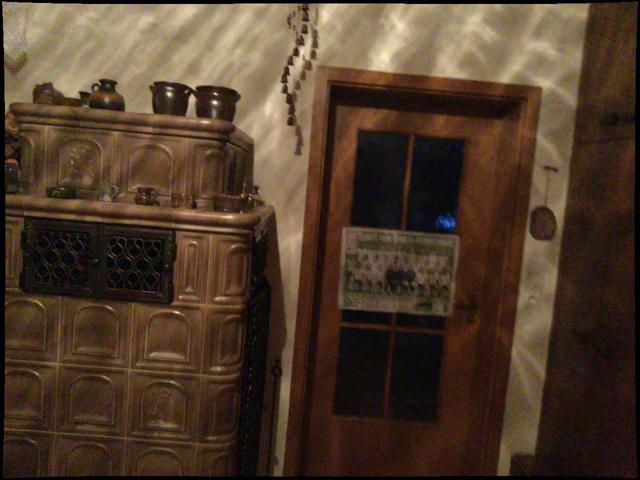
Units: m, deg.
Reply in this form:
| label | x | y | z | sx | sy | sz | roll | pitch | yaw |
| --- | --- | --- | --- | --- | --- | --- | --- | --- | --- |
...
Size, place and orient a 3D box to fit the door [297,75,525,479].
| label | x | y | z | sx | sy | sz | roll | pitch | yaw |
| --- | --- | --- | --- | --- | --- | --- | --- | --- | --- |
| door | 0.380 | 0.280 | 2.700 | 0.839 | 1.942 | 0.240 | 4 | 7 | -1 |

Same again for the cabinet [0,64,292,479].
| label | x | y | z | sx | sy | sz | roll | pitch | yaw |
| --- | --- | --- | --- | --- | --- | --- | --- | --- | --- |
| cabinet | -0.809 | 0.350 | 2.090 | 1.259 | 1.762 | 0.810 | 4 | 7 | -1 |
